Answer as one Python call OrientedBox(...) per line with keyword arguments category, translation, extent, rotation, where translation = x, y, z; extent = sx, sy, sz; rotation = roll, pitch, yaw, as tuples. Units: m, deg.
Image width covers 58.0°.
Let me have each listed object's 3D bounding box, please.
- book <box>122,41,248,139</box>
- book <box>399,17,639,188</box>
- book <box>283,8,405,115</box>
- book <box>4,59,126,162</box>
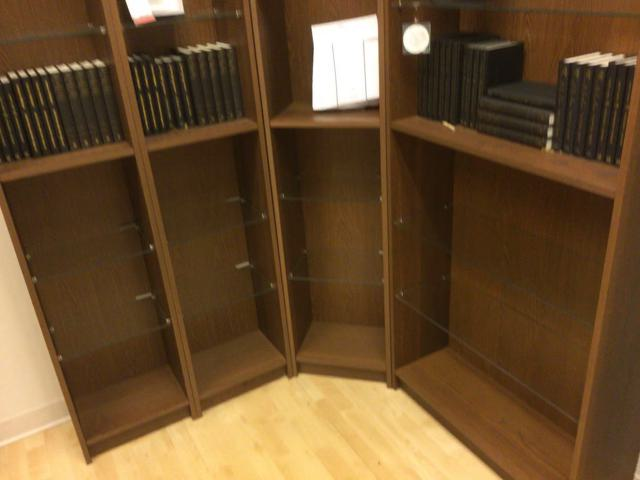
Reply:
OrientedBox(category="book", translation=(-0.430, -0.490, 1.860), extent=(0.320, 0.230, 0.170), rotation=(-19, 29, -25))
OrientedBox(category="book", translation=(0.510, -0.380, 1.420), extent=(0.220, 0.270, 0.740), rotation=(-19, 28, -24))
OrientedBox(category="book", translation=(0.090, -0.580, 1.880), extent=(0.310, 0.280, 0.260), rotation=(5, 28, 21))
OrientedBox(category="book", translation=(-0.750, -0.390, 1.710), extent=(0.260, 0.230, 0.160), rotation=(-19, 29, -25))
